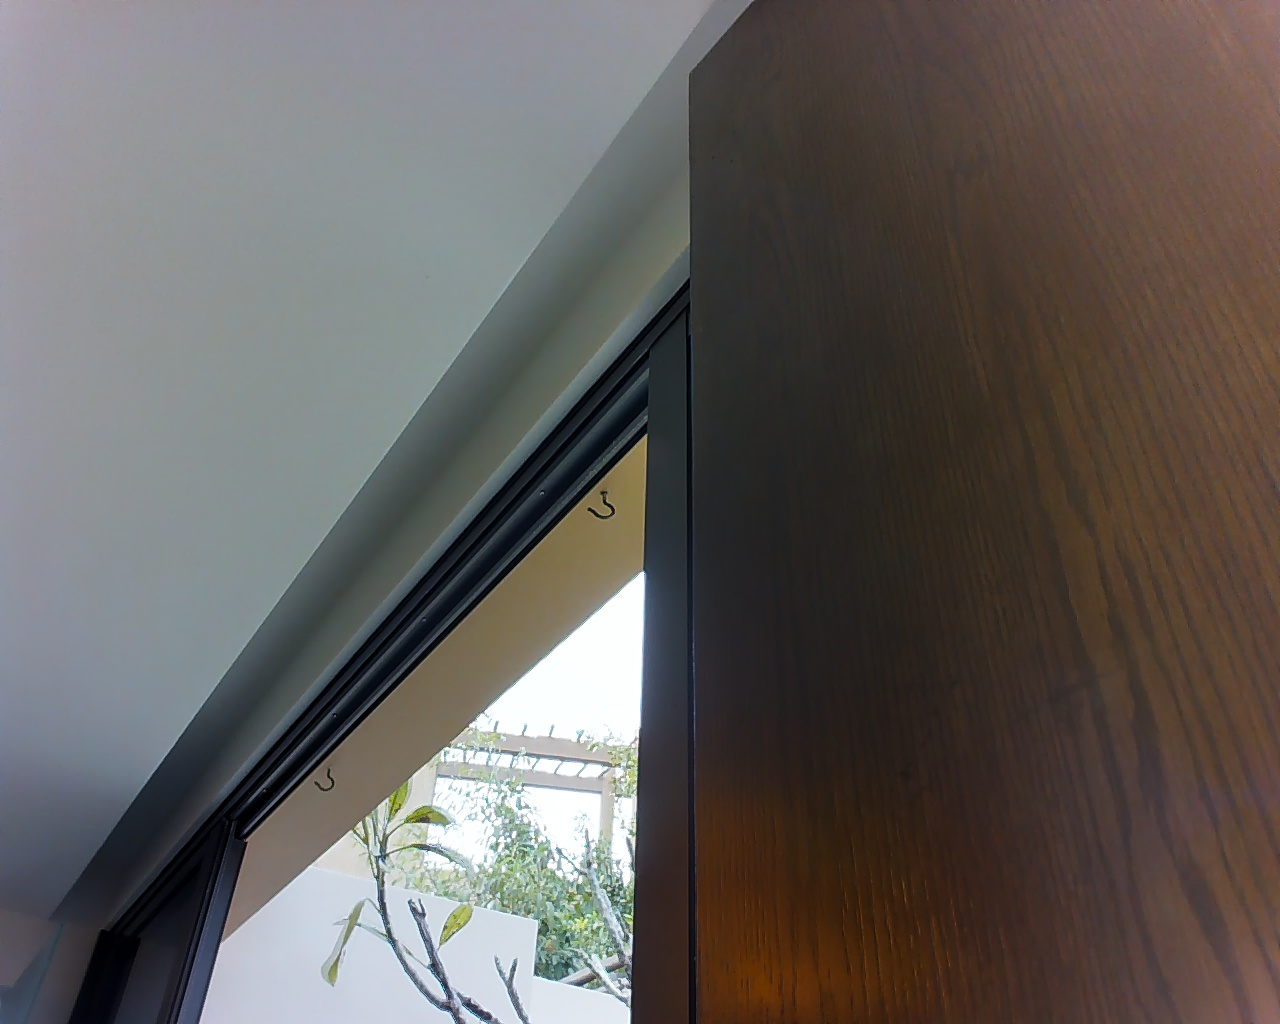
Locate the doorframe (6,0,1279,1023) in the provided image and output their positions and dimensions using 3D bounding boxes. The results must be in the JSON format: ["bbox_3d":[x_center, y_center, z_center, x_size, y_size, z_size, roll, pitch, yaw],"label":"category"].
[{"bbox_3d":[-0.450,1.130,1.240,0.550,2.751,3.890,25,-45,-24],"label":"doorframe"}]
